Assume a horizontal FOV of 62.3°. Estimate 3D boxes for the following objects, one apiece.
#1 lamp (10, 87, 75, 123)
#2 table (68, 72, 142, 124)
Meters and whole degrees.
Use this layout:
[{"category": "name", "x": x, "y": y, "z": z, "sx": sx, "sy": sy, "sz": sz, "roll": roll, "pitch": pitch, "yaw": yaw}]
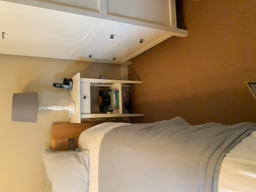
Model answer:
[{"category": "lamp", "x": -0.770, "y": 0.080, "z": 1.910, "sx": 0.270, "sy": 0.510, "sz": 0.280, "roll": -6, "pitch": 84, "yaw": 62}, {"category": "table", "x": -0.240, "y": 0.030, "z": 2.220, "sx": 0.350, "sy": 0.680, "sz": 0.470, "roll": -10, "pitch": 81, "yaw": 62}]
